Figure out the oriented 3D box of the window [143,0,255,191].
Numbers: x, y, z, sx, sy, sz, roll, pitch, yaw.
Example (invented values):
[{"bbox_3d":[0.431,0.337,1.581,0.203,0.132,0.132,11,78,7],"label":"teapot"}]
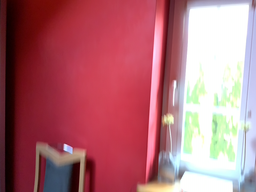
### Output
[{"bbox_3d":[0.400,-0.070,1.130,0.560,1.160,0.170,5,5,23],"label":"window"}]
